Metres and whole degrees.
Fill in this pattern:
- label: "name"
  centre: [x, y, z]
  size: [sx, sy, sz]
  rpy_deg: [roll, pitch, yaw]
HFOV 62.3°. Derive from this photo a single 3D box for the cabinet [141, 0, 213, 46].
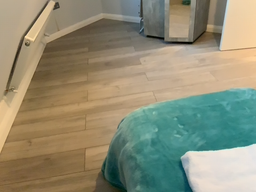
- label: "cabinet"
  centre: [0.620, -1.660, 2.580]
  size: [0.780, 1.870, 0.560]
  rpy_deg: [21, 44, 32]
